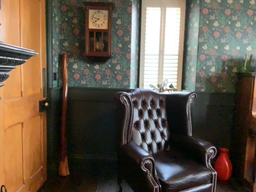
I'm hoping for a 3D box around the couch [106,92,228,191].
[{"bbox_3d":[0.280,0.480,1.960,0.750,0.960,0.810,-1,7,-22],"label":"couch"}]

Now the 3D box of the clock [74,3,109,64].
[{"bbox_3d":[-0.420,-0.710,2.450,0.370,0.660,0.120,2,6,3],"label":"clock"}]
